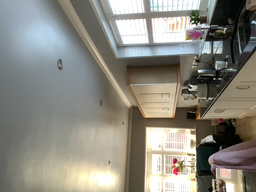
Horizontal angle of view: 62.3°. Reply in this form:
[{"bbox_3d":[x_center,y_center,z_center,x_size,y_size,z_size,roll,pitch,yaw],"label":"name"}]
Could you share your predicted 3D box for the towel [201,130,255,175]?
[{"bbox_3d":[1.590,0.850,3.100,0.870,0.850,0.530,64,-152,-69],"label":"towel"}]
